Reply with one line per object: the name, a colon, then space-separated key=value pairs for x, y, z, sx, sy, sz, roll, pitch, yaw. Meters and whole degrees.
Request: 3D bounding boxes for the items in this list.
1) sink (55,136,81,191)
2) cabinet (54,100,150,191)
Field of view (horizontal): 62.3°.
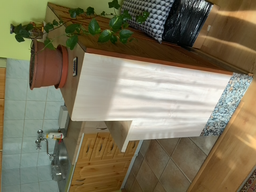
sink: x=-0.760 y=0.840 z=2.620 sx=0.530 sy=0.140 sz=0.420 roll=53 pitch=131 yaw=48
cabinet: x=-0.380 y=0.640 z=2.680 sx=0.600 sy=0.850 sz=0.970 roll=53 pitch=131 yaw=48
